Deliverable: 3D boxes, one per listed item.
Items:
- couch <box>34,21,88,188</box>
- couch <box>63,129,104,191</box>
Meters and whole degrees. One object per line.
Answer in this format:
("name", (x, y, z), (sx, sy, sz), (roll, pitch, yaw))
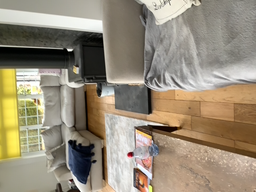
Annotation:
("couch", (-1.510, 0.150, 4.710), (1.090, 0.820, 3.190), (4, 96, 62))
("couch", (-0.860, 1.180, 3.960), (0.910, 0.470, 0.930), (4, 96, 62))
